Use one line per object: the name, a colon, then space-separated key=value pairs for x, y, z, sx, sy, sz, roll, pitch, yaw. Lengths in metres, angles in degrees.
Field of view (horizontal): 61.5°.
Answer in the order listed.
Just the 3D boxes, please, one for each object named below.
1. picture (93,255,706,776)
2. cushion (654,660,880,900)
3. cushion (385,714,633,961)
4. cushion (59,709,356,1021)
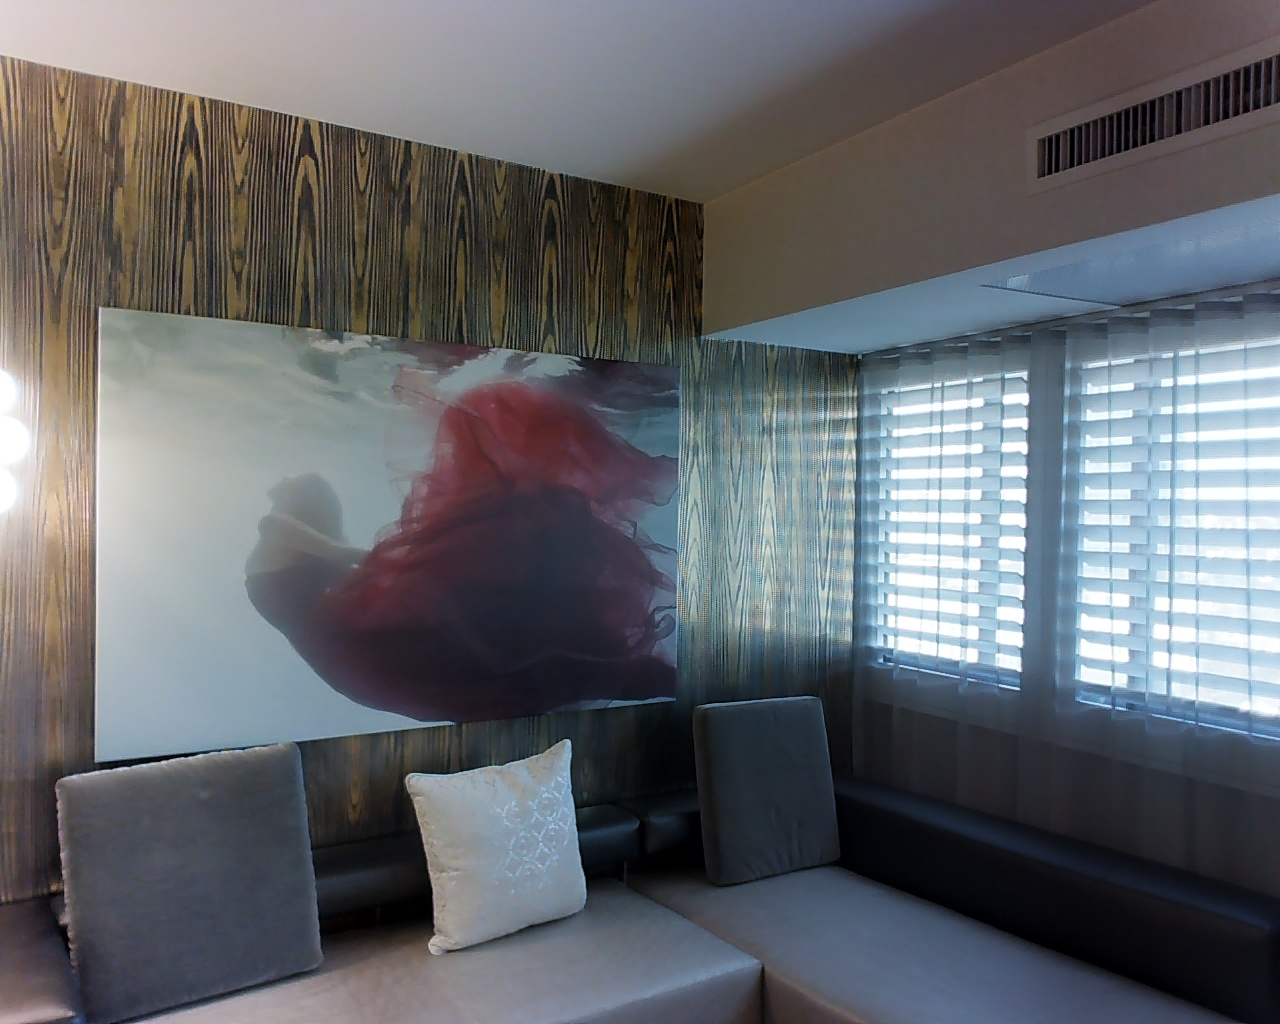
picture: x=-0.560 y=0.010 z=3.030 sx=1.740 sy=1.210 sz=0.130 roll=0 pitch=1 yaw=-33
cushion: x=0.410 y=0.840 z=3.490 sx=0.580 sy=0.600 sz=0.350 roll=0 pitch=9 yaw=-33
cushion: x=-0.360 y=0.850 z=2.930 sx=0.530 sy=0.470 sz=0.430 roll=0 pitch=1 yaw=-33
cushion: x=-1.020 y=0.800 z=2.540 sx=0.590 sy=0.550 sz=0.260 roll=0 pitch=11 yaw=-33
